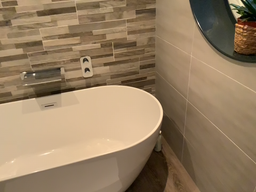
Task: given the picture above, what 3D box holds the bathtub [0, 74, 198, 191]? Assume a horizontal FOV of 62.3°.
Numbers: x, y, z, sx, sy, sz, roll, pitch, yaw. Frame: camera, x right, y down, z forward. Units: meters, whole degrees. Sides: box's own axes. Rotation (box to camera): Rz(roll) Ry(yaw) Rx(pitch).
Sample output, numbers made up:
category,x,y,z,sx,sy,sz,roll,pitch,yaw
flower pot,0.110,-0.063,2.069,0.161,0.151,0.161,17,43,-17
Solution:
category,x,y,z,sx,sy,sz,roll,pitch,yaw
bathtub,-0.480,0.390,1.440,1.580,0.560,0.800,-11,31,-13
